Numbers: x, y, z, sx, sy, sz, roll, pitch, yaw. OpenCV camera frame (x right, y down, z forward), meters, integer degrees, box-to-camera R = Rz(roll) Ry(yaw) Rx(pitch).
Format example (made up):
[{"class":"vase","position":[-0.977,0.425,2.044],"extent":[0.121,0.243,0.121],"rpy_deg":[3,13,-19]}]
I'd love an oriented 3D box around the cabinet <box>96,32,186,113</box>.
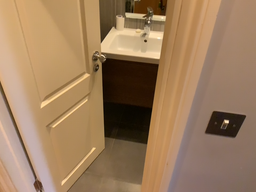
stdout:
[{"class":"cabinet","position":[0.110,-0.210,1.750],"extent":[0.610,0.420,0.470],"rpy_deg":[8,37,6]}]
